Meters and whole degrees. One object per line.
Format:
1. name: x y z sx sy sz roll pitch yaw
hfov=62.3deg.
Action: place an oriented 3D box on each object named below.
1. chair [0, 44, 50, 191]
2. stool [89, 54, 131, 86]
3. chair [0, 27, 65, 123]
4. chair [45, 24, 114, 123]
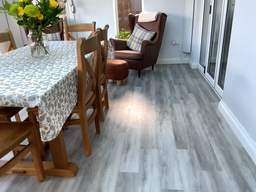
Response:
1. chair: -0.880 0.250 1.190 0.470 0.950 0.610 0 24 6
2. stool: -0.280 -0.430 3.390 0.560 0.370 0.350 11 27 28
3. chair: -1.090 -0.230 2.330 0.540 0.940 0.450 -2 23 1
4. chair: -0.460 -0.240 2.270 0.510 0.960 0.420 -1 23 3
